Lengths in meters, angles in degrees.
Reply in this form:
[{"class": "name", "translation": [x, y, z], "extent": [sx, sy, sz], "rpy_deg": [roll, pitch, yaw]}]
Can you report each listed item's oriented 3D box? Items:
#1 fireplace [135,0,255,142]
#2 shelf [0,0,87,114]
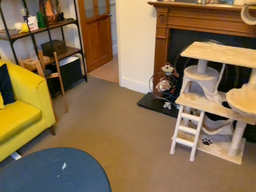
[{"class": "fireplace", "translation": [0.830, -0.360, 2.300], "extent": [1.370, 1.210, 0.590], "rpy_deg": [16, 35, 25]}, {"class": "shelf", "translation": [-1.080, -0.630, 2.720], "extent": [0.350, 1.330, 1.050], "rpy_deg": [18, 35, 27]}]
